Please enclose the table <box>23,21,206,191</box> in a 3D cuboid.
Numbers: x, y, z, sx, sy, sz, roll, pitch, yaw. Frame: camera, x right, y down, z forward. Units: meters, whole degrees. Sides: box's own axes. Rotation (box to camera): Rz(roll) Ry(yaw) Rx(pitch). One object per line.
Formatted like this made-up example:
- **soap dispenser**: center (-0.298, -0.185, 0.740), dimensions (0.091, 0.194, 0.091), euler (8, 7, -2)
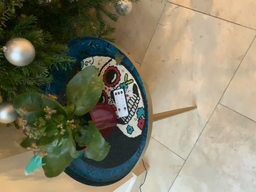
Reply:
- **table**: center (-0.060, 0.040, 0.910), dimensions (0.510, 0.430, 0.490), euler (28, 108, 27)
